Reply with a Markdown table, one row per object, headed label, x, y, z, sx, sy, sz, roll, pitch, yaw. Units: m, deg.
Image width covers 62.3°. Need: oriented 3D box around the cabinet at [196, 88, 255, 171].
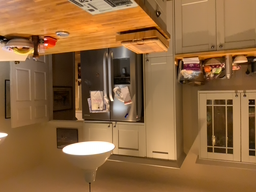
| label | x | y | z | sx | sy | sz | roll | pitch | yaw |
| --- | --- | --- | --- | --- | --- | --- | --- | --- | --- |
| cabinet | 1.490 | 0.420 | 2.870 | 1.050 | 1.040 | 0.340 | -1 | -179 | 23 |
